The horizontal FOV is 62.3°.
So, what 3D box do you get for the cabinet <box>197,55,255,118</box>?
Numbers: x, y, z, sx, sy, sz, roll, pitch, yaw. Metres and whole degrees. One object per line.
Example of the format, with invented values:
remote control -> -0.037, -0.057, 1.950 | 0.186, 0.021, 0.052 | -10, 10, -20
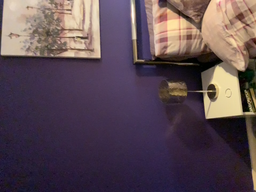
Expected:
cabinet -> 0.910, -0.050, 1.650 | 0.420, 0.530, 0.400 | 147, 121, -74
